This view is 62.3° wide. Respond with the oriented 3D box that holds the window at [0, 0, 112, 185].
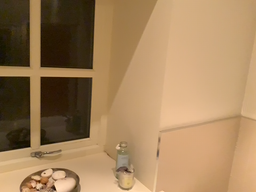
[{"bbox_3d":[-0.490,-0.100,1.140,0.850,1.140,0.050,-4,14,-35],"label":"window"}]
